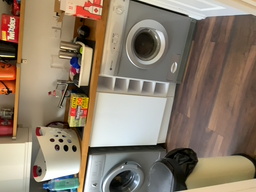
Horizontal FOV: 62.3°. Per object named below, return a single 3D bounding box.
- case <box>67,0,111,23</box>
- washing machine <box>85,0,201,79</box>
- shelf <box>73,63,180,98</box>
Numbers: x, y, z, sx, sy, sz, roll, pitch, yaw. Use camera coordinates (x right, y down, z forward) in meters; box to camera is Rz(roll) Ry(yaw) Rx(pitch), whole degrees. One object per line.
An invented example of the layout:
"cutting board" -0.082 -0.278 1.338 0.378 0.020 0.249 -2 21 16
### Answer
"case" -0.310 -0.700 1.640 0.360 0.240 0.200 38 120 59
"washing machine" 0.100 -0.540 2.040 0.620 0.830 0.550 35 118 60
"shelf" -0.030 -0.160 2.140 0.570 0.930 0.140 35 118 60
